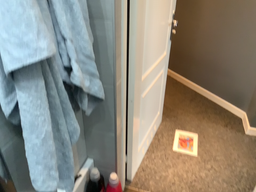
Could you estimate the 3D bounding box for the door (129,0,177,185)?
[{"bbox_3d":[0.210,-0.410,1.470,0.040,2.060,0.880,13,32,18],"label":"door"}]
